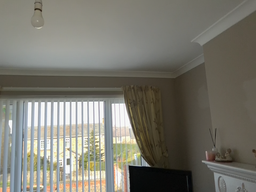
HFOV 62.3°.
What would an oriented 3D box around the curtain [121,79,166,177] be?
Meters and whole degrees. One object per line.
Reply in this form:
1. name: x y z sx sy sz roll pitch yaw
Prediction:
1. curtain: 0.200 0.410 2.930 0.520 1.280 0.200 -1 -8 -14
